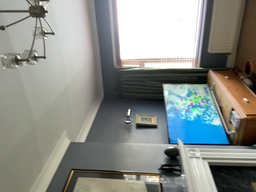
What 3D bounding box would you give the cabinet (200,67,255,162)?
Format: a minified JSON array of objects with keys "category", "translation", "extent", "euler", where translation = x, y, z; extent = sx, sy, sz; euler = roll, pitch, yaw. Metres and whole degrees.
[{"category":"cabinet","translation":[1.520,0.140,3.090],"extent":[1.590,0.520,0.620],"euler":[-80,-11,-62]}]
